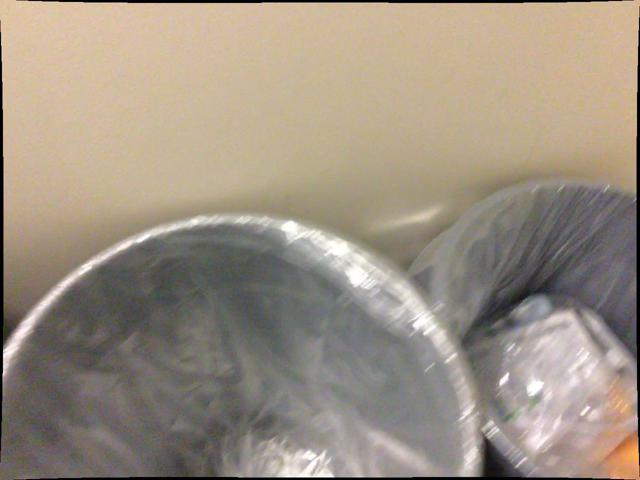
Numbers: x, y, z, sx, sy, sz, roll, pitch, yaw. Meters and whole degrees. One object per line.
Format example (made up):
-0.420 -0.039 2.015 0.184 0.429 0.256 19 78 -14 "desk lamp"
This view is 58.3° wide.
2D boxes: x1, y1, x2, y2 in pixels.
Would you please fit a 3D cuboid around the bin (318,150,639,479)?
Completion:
0.400 0.310 1.040 0.600 0.680 0.590 -8 51 -15 "bin"
